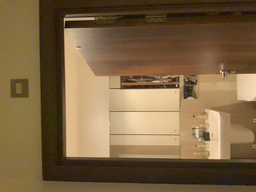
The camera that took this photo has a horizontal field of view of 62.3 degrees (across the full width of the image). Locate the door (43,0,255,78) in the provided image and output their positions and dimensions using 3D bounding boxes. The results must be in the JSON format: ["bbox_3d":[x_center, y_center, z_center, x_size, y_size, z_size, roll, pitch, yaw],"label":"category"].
[{"bbox_3d":[0.660,-0.280,1.280,0.830,2.030,0.030,75,-165,-74],"label":"door"}]

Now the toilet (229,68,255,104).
[{"bbox_3d":[1.430,-0.110,2.380,0.520,0.360,0.360,-24,-66,-86],"label":"toilet"}]

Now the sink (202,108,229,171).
[{"bbox_3d":[0.990,0.470,2.440,0.500,0.130,0.610,-24,-66,-86],"label":"sink"}]
